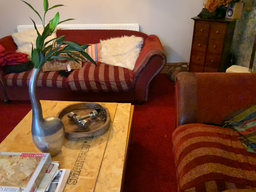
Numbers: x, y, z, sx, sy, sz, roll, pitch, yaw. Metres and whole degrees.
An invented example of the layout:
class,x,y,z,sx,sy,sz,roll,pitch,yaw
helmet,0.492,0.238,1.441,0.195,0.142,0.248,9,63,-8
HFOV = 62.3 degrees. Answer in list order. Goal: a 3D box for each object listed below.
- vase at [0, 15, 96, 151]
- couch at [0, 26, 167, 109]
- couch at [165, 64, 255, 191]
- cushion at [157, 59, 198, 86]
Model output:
class,x,y,z,sx,sy,sz,roll,pitch,yaw
vase,-0.490,-0.100,1.340,0.410,0.720,0.460,2,28,6
couch,-0.760,-0.490,3.060,2.430,0.790,1.220,1,28,3
couch,0.880,0.400,1.390,1.050,0.790,1.410,0,28,2
cushion,0.770,-0.390,3.420,0.580,0.270,0.490,2,28,5
